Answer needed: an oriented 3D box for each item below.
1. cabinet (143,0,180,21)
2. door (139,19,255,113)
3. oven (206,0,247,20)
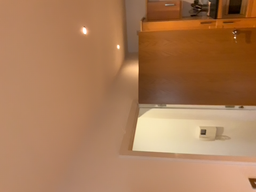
[{"bbox_3d":[0.630,-1.630,4.000,0.320,0.650,0.340,-73,-18,-63],"label":"cabinet"},{"bbox_3d":[1.150,-0.310,2.300,0.160,2.060,0.970,-36,-54,-80],"label":"door"},{"bbox_3d":[1.700,-1.700,3.670,0.580,0.500,0.640,-73,-18,-63],"label":"oven"}]
